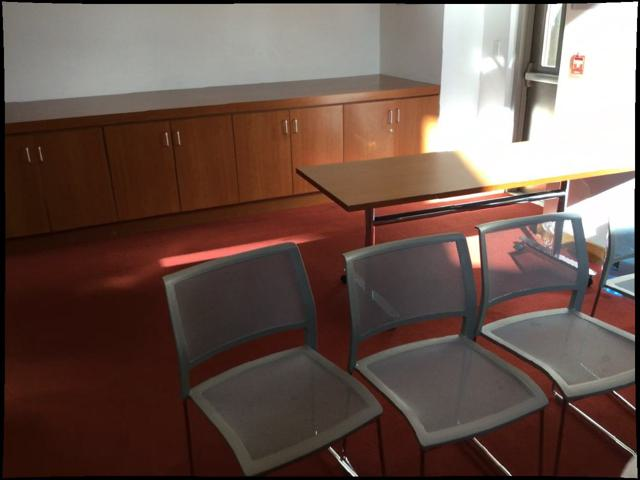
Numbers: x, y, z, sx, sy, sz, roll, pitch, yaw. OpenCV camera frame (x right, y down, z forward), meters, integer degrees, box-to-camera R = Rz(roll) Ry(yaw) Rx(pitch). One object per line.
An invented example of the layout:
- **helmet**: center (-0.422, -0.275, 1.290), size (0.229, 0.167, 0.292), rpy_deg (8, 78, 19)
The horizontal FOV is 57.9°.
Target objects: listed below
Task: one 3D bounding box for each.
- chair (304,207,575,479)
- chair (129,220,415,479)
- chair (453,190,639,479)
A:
- **chair**: center (0.370, 0.360, 1.850), size (0.600, 0.711, 0.530), rpy_deg (-15, 22, -19)
- **chair**: center (-0.140, 0.410, 1.760), size (0.550, 0.721, 0.580), rpy_deg (-20, 24, -29)
- **chair**: center (0.859, 0.310, 2.010), size (0.540, 0.781, 0.520), rpy_deg (-15, 22, -19)
